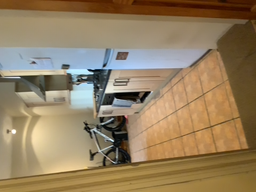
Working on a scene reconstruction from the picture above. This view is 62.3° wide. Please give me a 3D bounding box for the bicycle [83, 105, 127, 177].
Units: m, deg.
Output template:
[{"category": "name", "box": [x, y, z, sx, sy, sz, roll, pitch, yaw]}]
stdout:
[{"category": "bicycle", "box": [-0.650, 1.160, 5.630, 0.550, 0.980, 1.700, 129, 136, -68]}]
